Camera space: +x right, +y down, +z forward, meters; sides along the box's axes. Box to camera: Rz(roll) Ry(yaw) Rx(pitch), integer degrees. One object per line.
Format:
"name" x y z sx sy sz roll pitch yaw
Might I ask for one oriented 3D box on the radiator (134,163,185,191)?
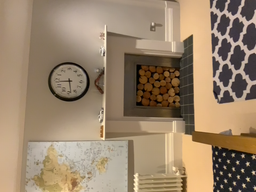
"radiator" 0.460 1.510 3.080 0.170 0.720 0.990 156 115 -75

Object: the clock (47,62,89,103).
"clock" -0.850 -0.190 3.040 0.030 0.560 0.560 156 115 -75

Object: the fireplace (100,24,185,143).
"fireplace" 0.240 -0.170 3.270 0.220 1.260 1.710 154 117 -75
